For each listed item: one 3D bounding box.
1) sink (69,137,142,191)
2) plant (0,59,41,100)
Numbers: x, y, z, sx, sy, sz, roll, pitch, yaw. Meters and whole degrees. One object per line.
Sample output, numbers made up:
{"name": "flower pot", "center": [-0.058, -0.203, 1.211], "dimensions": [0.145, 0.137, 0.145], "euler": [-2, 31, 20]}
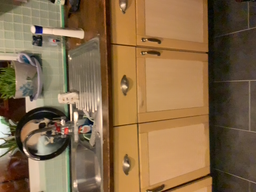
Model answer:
{"name": "sink", "center": [-0.160, 0.520, 1.310], "dimensions": [0.490, 0.250, 0.410], "euler": [1, 94, 57]}
{"name": "plant", "center": [-0.720, -0.100, 1.340], "dimensions": [0.230, 0.270, 0.230], "euler": [3, 96, 57]}
